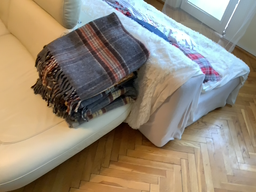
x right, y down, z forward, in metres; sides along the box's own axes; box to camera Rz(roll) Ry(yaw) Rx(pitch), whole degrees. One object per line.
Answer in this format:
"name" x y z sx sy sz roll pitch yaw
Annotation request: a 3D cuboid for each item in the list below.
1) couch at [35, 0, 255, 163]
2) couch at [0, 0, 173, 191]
"couch" 0.090 -0.590 2.020 1.080 0.720 2.010 -29 58 -30
"couch" -0.630 -0.150 1.350 1.040 0.950 1.220 -29 58 -30
